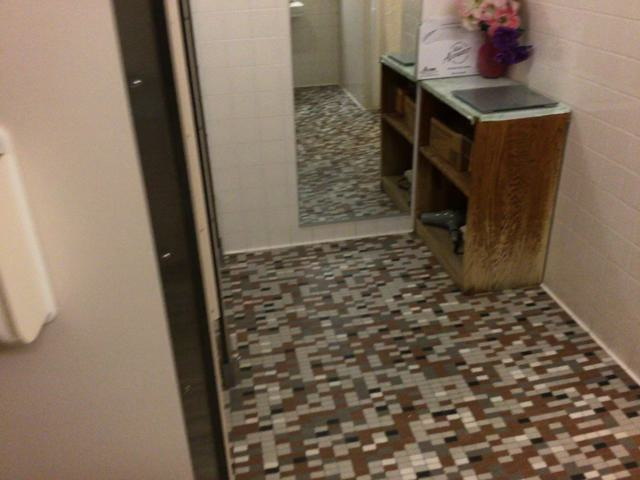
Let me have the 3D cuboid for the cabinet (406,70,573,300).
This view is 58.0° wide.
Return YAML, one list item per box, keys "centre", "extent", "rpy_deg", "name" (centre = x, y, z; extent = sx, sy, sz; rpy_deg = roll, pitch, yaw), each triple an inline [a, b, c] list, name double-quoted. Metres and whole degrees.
- centre: [0.660, -0.260, 2.460]
  extent: [0.400, 0.760, 0.630]
  rpy_deg: [-8, 28, -8]
  name: "cabinet"
